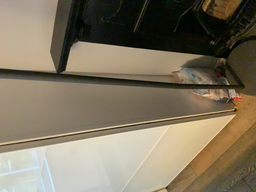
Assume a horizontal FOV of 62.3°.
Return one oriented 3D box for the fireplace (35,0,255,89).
[{"bbox_3d":[0.250,-0.470,1.010,0.320,1.150,0.870,59,137,36],"label":"fireplace"}]
